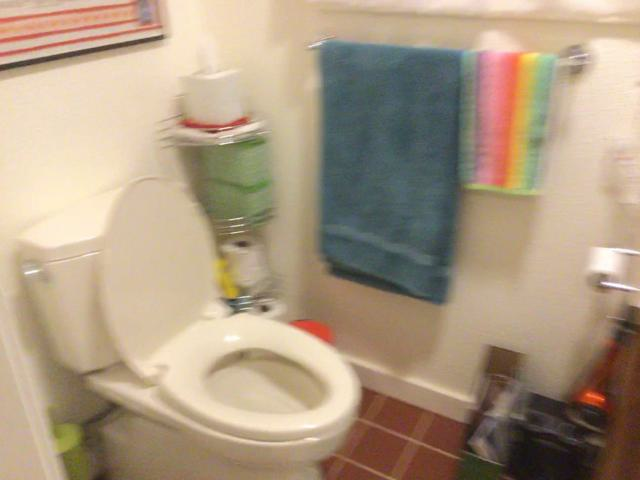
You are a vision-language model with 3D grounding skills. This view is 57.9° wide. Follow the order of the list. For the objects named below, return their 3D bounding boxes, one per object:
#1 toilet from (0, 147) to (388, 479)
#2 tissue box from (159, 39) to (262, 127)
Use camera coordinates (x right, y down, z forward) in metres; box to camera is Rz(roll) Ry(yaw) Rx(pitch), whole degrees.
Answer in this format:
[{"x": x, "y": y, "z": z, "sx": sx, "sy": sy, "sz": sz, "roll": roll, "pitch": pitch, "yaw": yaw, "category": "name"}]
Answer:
[{"x": -0.260, "y": 0.290, "z": 1.340, "sx": 0.700, "sy": 0.860, "sz": 0.450, "roll": 11, "pitch": 26, "yaw": 29, "category": "toilet"}, {"x": -0.290, "y": -0.430, "z": 1.560, "sx": 0.180, "sy": 0.200, "sz": 0.180, "roll": 11, "pitch": 26, "yaw": 29, "category": "tissue box"}]
